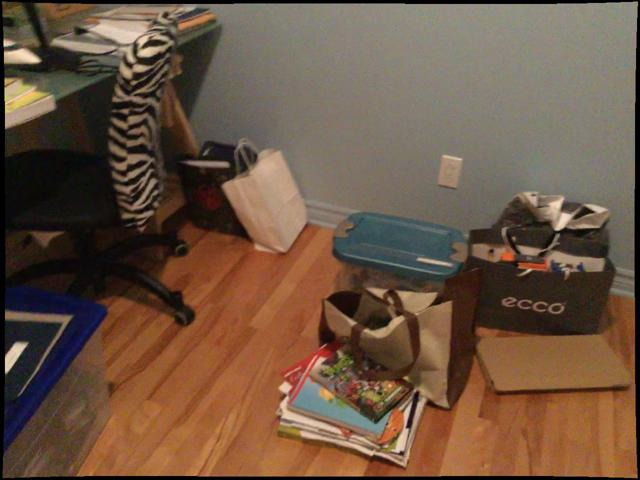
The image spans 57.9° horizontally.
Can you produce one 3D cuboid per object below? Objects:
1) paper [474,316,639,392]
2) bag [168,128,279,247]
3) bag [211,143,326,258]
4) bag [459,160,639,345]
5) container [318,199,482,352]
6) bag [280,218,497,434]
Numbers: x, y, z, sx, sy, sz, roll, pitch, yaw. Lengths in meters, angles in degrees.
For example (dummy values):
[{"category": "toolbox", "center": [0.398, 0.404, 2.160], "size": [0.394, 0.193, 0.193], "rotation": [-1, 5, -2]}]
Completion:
[{"category": "paper", "center": [0.689, 0.330, 1.710], "size": [0.400, 0.060, 0.230], "rotation": [-1, 35, -3]}, {"category": "bag", "center": [-0.360, -0.210, 2.240], "size": [0.300, 0.310, 0.280], "rotation": [14, 37, 17]}, {"category": "bag", "center": [-0.190, -0.150, 2.220], "size": [0.230, 0.300, 0.250], "rotation": [-21, 21, 36]}, {"category": "bag", "center": [0.779, 0.030, 1.870], "size": [0.550, 0.400, 0.270], "rotation": [14, 37, 17]}, {"category": "container", "center": [0.250, 0.100, 1.840], "size": [0.430, 0.270, 0.300], "rotation": [14, 37, 17]}, {"category": "bag", "center": [0.190, 0.220, 1.620], "size": [0.490, 0.330, 0.360], "rotation": [14, 37, 17]}]
